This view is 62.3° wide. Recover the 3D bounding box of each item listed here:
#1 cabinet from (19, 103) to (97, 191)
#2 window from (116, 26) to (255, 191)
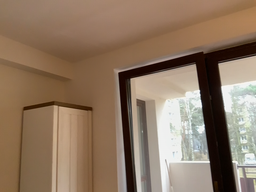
[{"bbox_3d":[-0.630,1.080,1.950,0.450,1.930,0.540,-10,-14,32],"label":"cabinet"},{"bbox_3d":[0.610,0.790,1.750,1.500,2.520,0.190,-10,-14,30],"label":"window"}]
